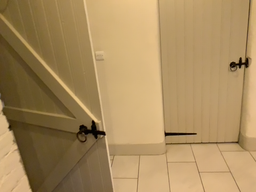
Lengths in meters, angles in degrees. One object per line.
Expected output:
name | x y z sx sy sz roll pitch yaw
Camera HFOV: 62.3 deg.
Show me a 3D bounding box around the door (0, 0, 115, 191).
door | -0.500 0.100 1.280 0.760 1.940 0.100 4 23 26
